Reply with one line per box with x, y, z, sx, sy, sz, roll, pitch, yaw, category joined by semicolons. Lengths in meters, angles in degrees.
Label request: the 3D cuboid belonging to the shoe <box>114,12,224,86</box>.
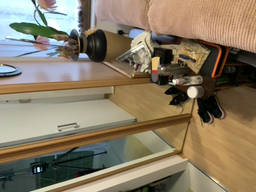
0.180;-0.320;1.350;0.790;0.150;0.340;25;116;53;shoe
